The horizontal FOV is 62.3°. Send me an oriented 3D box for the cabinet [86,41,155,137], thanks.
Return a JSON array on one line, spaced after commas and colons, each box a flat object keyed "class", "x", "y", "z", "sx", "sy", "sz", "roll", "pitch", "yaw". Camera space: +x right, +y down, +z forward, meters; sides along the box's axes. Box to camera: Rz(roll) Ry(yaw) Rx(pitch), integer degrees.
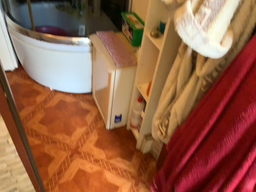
[{"class": "cabinet", "x": -0.090, "y": -0.050, "z": 1.620, "sx": 0.350, "sy": 0.570, "sz": 0.380, "roll": -12, "pitch": 46, "yaw": -21}]
